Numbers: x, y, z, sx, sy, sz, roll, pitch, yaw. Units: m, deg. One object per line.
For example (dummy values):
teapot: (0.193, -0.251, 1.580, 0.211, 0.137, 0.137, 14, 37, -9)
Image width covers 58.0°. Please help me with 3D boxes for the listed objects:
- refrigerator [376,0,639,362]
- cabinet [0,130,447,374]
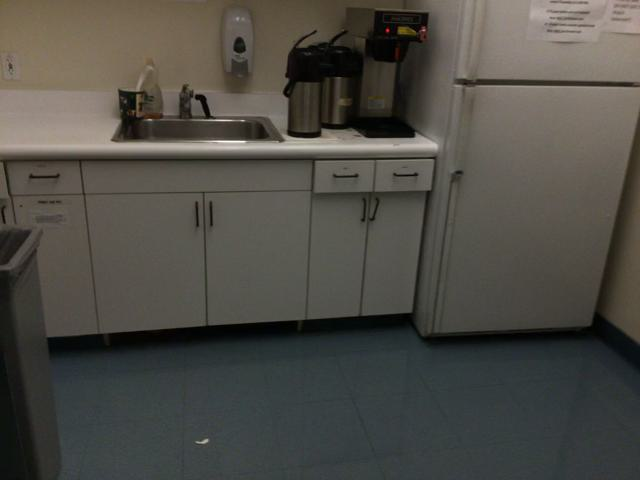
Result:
refrigerator: (0.790, -0.420, 2.430, 0.810, 1.590, 0.790, -3, 22, -11)
cabinet: (-0.430, 0.030, 2.200, 1.780, 0.840, 0.180, -3, 22, -11)
